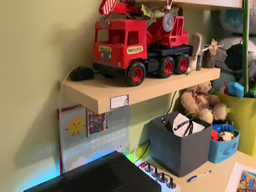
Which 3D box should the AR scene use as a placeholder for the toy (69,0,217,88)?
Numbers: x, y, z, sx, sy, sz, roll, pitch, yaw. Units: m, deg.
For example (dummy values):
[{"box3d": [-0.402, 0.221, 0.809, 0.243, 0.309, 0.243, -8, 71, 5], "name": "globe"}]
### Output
[{"box3d": [0.080, -0.220, 0.780, 0.530, 0.260, 0.180, -14, 23, -36], "name": "toy"}]
